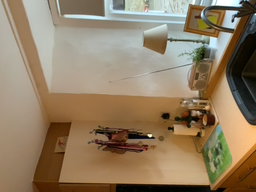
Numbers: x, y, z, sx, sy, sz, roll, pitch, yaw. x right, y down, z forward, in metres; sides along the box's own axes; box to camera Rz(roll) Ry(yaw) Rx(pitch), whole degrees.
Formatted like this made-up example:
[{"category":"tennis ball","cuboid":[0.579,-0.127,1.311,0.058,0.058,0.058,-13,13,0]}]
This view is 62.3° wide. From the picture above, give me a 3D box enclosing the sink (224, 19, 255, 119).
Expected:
[{"category":"sink","cuboid":[0.800,-0.160,1.240,0.350,0.180,0.480,97,174,-48]}]
